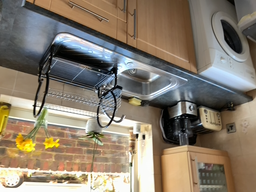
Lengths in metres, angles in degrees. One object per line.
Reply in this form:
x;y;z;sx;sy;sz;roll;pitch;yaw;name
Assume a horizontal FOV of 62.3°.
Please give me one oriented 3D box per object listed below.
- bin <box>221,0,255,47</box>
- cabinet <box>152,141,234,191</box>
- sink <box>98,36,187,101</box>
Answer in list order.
1.050;-0.720;1.860;0.340;0.400;0.250;16;152;-35;bin
0.550;0.900;1.700;0.600;0.950;0.330;16;152;-33;cabinet
0.100;-0.170;1.640;0.480;0.190;0.480;16;152;-33;sink
